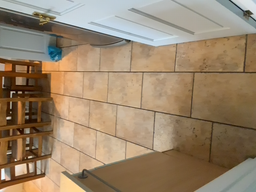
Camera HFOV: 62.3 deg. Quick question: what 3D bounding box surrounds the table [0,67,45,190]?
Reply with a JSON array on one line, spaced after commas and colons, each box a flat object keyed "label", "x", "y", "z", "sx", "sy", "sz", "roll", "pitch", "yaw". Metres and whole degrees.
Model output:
[{"label": "table", "x": -1.940, "y": 0.440, "z": 3.440, "sx": 0.940, "sy": 0.760, "sz": 1.730, "roll": 6, "pitch": 94, "yaw": 46}]
